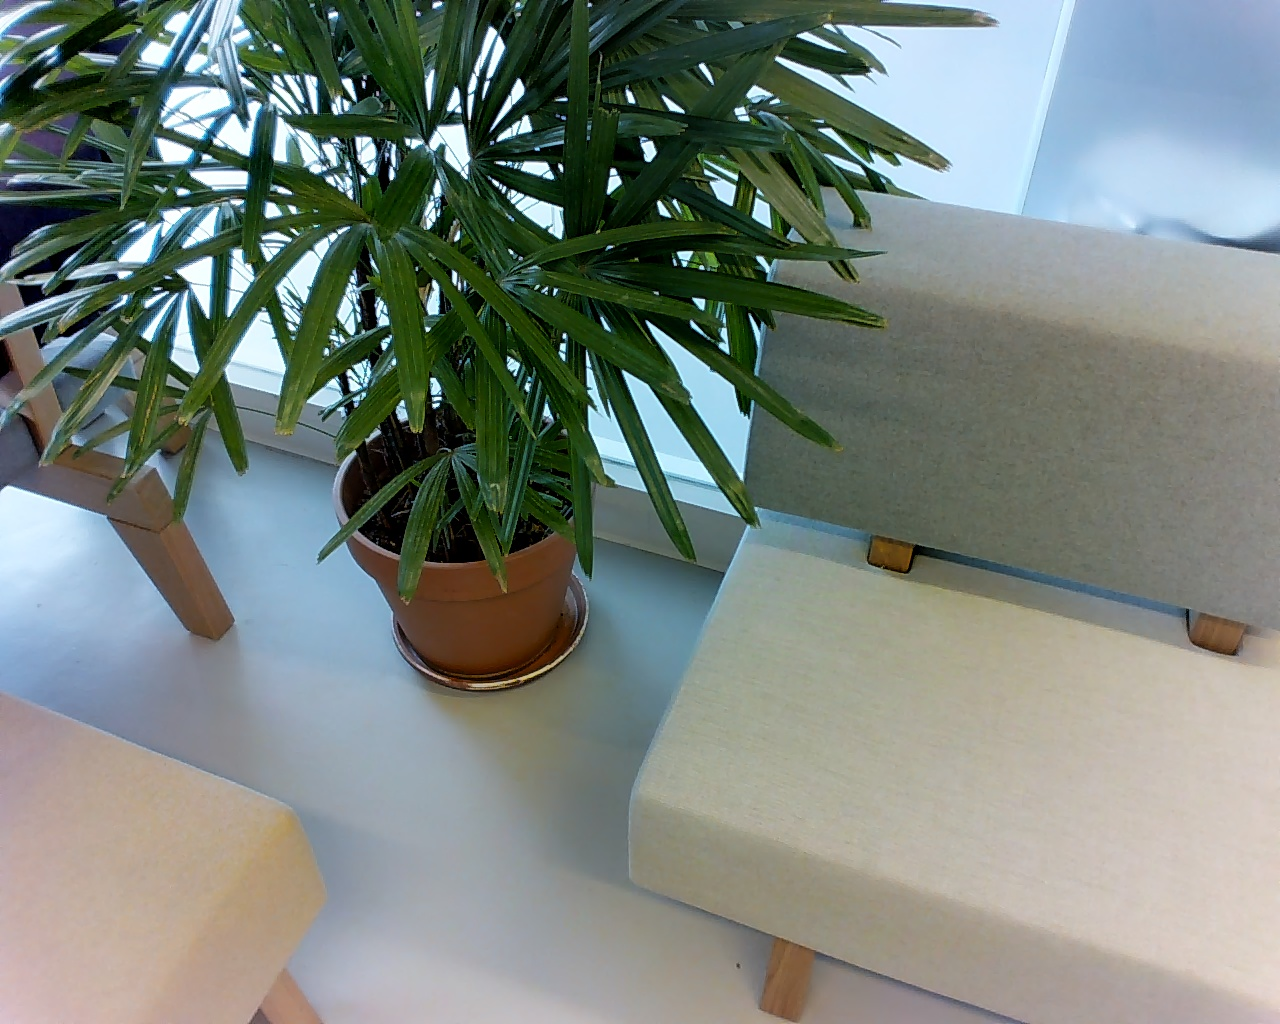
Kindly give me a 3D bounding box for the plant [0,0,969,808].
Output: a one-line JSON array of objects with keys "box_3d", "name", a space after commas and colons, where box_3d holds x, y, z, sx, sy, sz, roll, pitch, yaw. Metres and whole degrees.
[{"box_3d": [-0.170, -0.450, 1.380, 1.050, 1.800, 0.430, 12, 43, 13], "name": "plant"}]
